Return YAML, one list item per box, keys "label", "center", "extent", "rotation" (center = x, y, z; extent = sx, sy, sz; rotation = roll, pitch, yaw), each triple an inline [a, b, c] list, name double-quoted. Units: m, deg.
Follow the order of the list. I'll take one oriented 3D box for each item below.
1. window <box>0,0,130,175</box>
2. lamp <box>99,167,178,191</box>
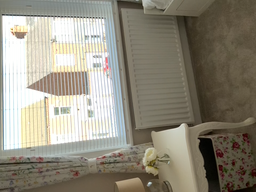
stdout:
- label: "window"
  center: [-0.950, -0.170, 1.960]
  extent: [0.270, 1.750, 1.630]
  rotation: [145, 119, -72]
- label: "lamp"
  center: [0.070, 0.780, 1.630]
  extent: [0.390, 0.510, 0.360]
  rotation: [133, 131, -69]
